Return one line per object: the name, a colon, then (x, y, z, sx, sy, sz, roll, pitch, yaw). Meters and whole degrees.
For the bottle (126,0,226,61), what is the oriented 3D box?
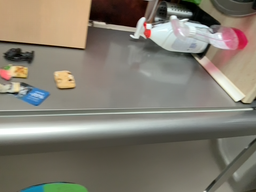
bottle: (0.180, -0.250, 0.830, 0.120, 0.330, 0.160, -111, 30, -44)
